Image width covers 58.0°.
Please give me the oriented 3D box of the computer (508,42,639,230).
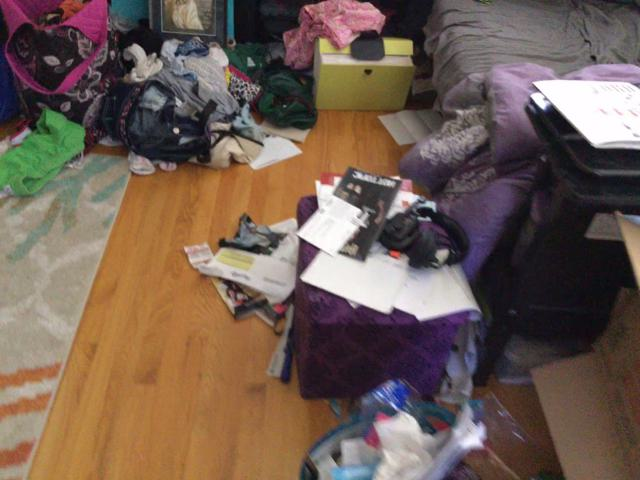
[{"bbox_3d":[0.630,-0.190,1.110,0.410,0.190,0.310,6,43,-7],"label":"computer"}]
